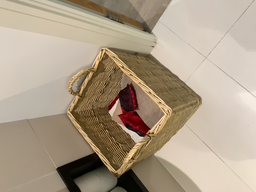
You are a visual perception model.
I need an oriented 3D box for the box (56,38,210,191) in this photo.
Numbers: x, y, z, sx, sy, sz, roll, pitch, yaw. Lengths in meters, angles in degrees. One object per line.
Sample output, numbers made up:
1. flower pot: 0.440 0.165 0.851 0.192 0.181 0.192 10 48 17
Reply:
1. box: 0.020 0.060 0.940 0.380 0.380 0.430 44 116 23
